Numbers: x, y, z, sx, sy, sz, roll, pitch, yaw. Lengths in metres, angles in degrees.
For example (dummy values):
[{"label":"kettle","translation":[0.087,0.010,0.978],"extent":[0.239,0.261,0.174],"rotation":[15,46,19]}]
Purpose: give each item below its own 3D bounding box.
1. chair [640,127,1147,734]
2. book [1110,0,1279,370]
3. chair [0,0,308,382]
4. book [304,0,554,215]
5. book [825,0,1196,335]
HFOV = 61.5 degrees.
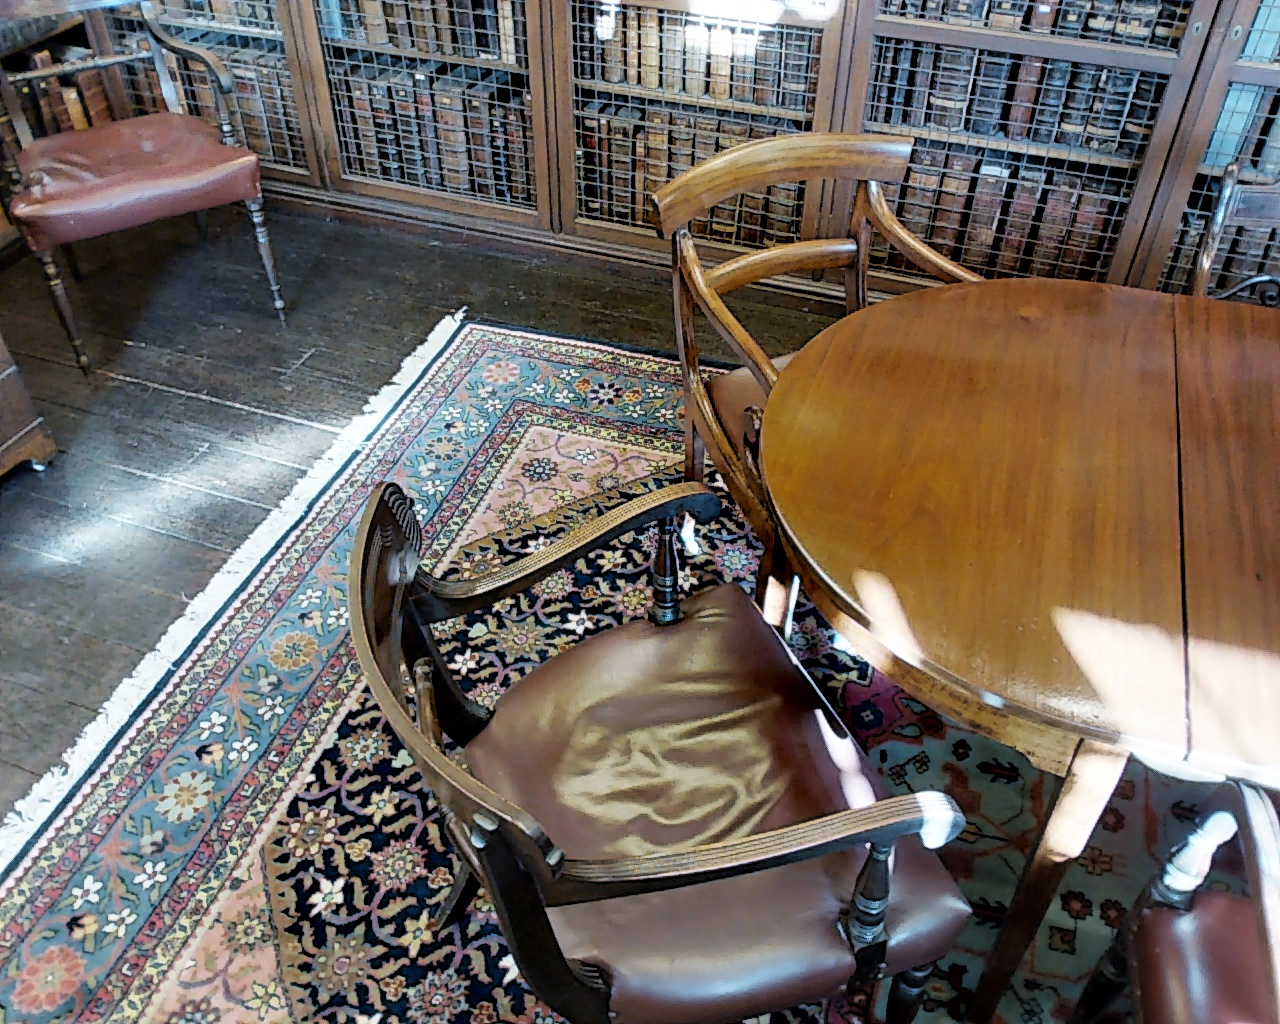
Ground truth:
[{"label":"chair","translation":[0.370,-0.150,1.940],"extent":[0.550,0.810,0.560],"rotation":[-17,44,-19]},{"label":"book","translation":[1.600,-0.740,2.480],"extent":[0.740,0.830,0.220],"rotation":[14,43,15]},{"label":"chair","translation":[-1.370,-0.960,2.830],"extent":[0.620,0.890,0.640],"rotation":[-23,46,-24]},{"label":"book","translation":[-0.610,-1.320,3.140],"extent":[0.660,0.790,0.180],"rotation":[12,42,12]},{"label":"book","translation":[0.870,-0.910,2.680],"extent":[0.690,0.840,0.190],"rotation":[12,43,13]}]
